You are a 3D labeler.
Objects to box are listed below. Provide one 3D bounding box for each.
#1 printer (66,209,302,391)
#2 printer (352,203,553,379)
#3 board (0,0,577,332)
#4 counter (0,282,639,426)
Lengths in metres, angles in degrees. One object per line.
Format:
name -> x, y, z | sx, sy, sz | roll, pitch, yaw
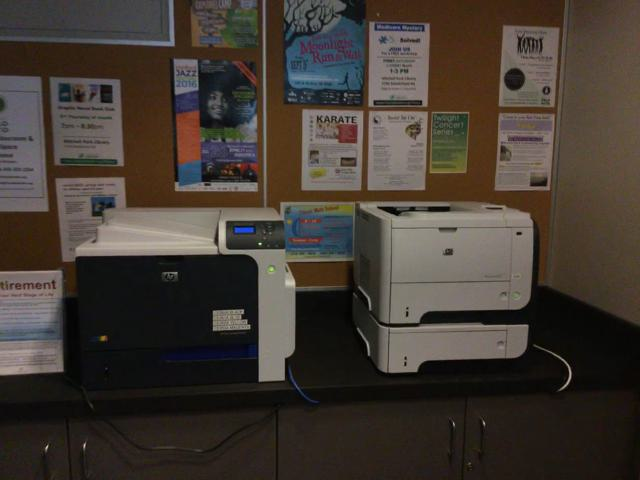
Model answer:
printer -> -0.350, 0.140, 1.620 | 0.570, 0.430, 0.360 | 0, 6, -6
printer -> 0.360, 0.120, 1.750 | 0.450, 0.440, 0.470 | 0, 6, -6
board -> -0.190, -0.260, 1.990 | 2.120, 1.100, 0.160 | 0, 6, -7
counter -> -0.130, 0.300, 1.750 | 2.110, 0.210, 0.640 | 0, 6, -7
